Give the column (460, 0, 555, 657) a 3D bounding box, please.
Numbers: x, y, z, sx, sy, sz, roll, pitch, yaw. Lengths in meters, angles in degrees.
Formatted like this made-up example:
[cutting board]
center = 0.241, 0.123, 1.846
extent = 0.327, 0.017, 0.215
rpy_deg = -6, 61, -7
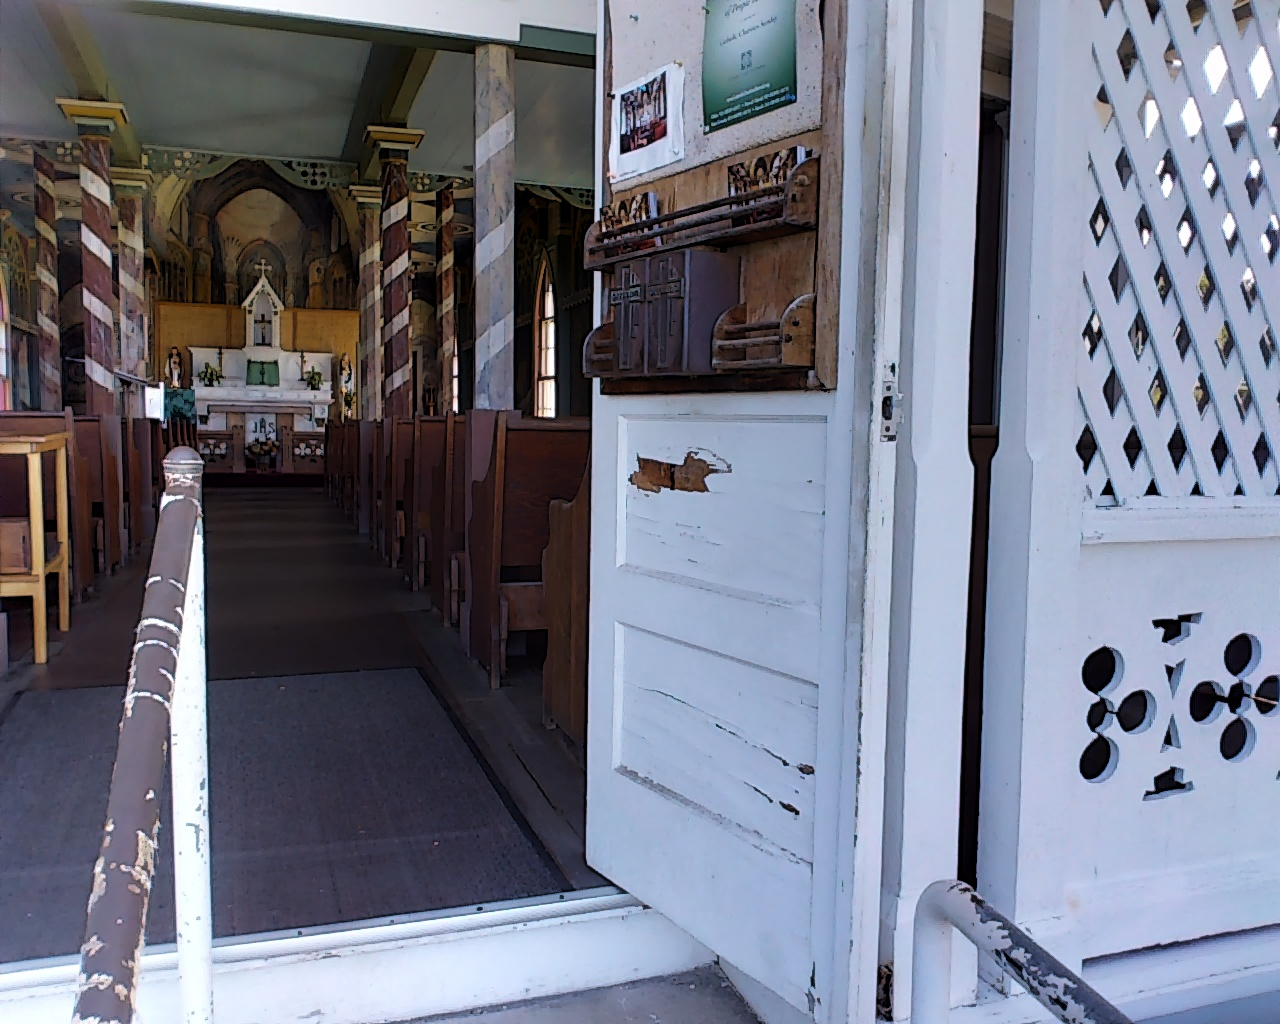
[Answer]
[column]
center = -0.480, -0.840, 3.850
extent = 0.290, 2.691, 0.240
rpy_deg = -1, 5, -18
